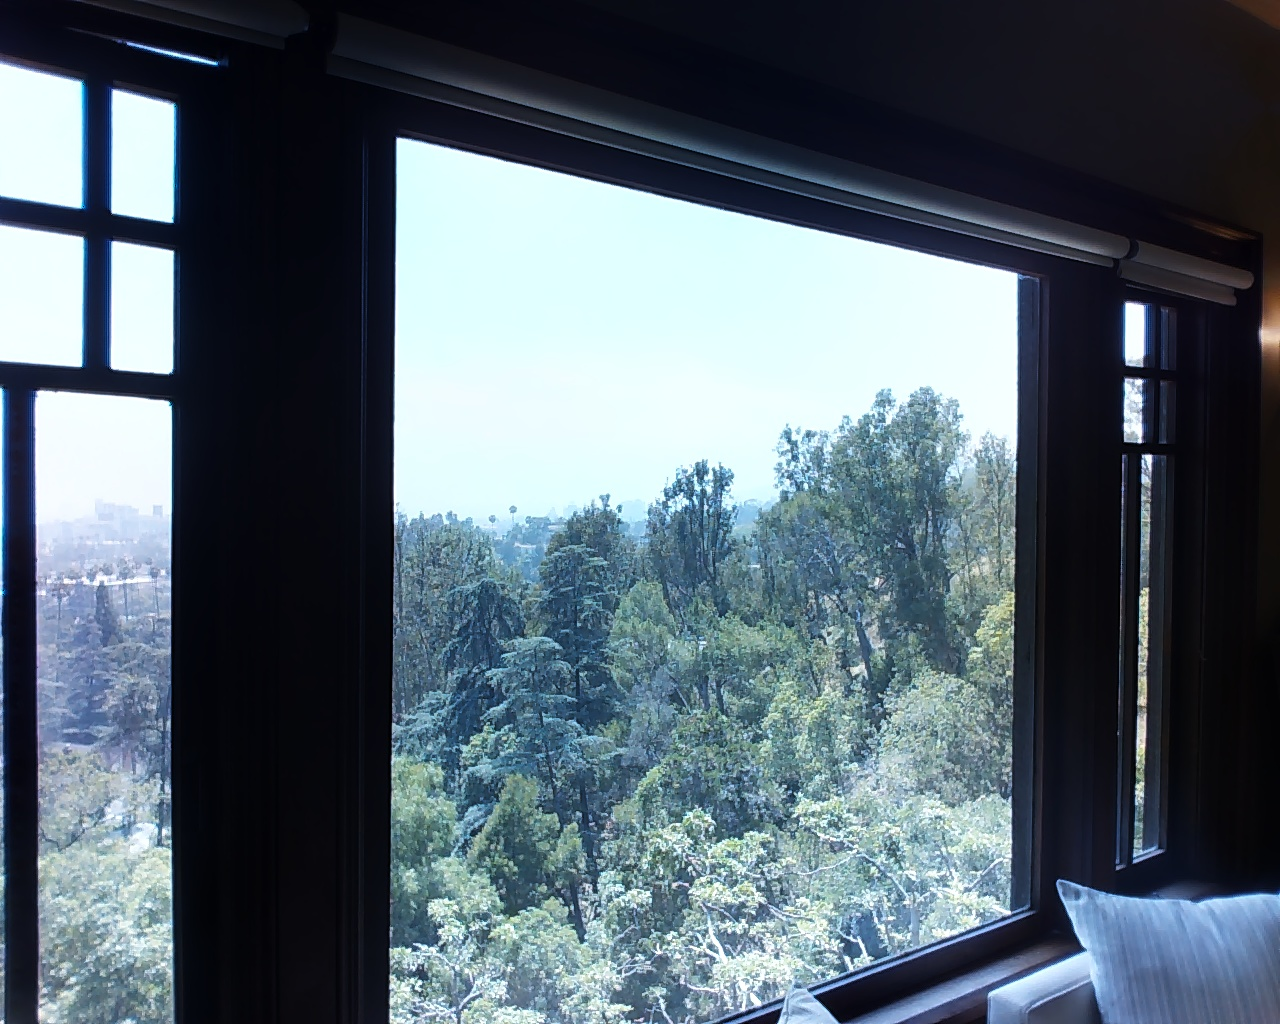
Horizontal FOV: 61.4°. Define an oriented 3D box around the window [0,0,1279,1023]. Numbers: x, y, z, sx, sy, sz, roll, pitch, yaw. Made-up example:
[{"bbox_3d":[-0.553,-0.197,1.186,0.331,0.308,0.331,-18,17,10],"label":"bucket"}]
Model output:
[{"bbox_3d":[0.350,0.120,1.900,2.890,1.670,0.210,0,1,-36],"label":"window"}]
